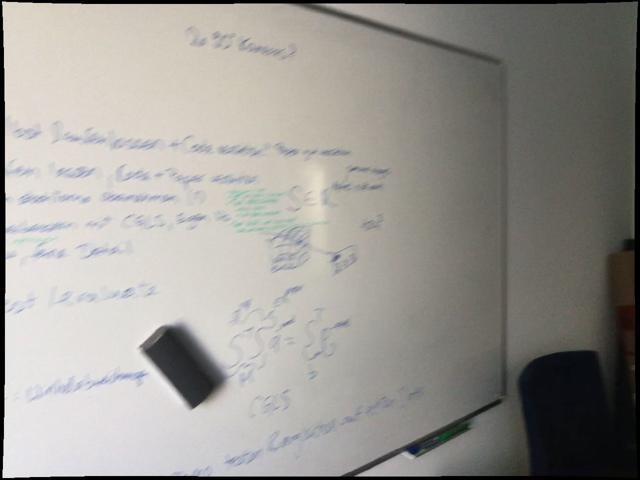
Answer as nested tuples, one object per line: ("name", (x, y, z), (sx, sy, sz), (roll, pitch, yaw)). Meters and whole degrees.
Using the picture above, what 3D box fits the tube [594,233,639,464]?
("tube", (1.449, 0.470, 2.590), (0.300, 0.971, 0.300), (-8, 8, -42))

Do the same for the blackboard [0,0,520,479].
("blackboard", (-0.080, 0.060, 1.330), (2.019, 1.261, 0.080), (-8, 8, -42))
